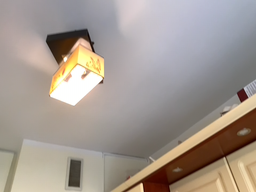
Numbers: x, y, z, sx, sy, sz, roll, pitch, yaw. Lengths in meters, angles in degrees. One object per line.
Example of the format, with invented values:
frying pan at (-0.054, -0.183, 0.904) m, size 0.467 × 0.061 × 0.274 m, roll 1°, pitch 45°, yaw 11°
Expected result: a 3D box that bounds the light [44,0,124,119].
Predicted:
light at (-0.220, -0.170, 1.040) m, size 0.220 × 0.360 × 0.400 m, roll 17°, pitch 45°, yaw -27°
